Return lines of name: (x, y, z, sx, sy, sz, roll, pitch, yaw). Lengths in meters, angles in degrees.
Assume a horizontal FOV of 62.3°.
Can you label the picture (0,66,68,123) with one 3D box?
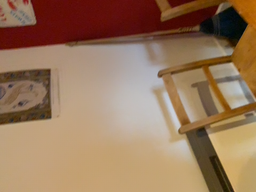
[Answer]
picture: (-0.630, -0.020, 1.320, 0.030, 0.470, 0.370, 97, 160, -52)
